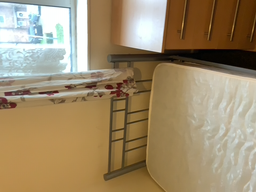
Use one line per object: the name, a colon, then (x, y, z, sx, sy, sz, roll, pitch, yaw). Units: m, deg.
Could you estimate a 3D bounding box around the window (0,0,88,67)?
window: (-0.730, -0.570, 1.120, 0.030, 1.050, 0.830, 23, 116, 56)
